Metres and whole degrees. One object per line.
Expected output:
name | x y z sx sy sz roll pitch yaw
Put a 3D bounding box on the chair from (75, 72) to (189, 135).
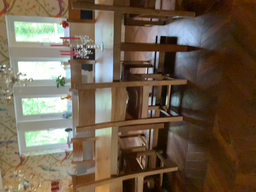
chair | 0.010 0.030 2.170 0.480 1.030 0.460 -136 46 -64
